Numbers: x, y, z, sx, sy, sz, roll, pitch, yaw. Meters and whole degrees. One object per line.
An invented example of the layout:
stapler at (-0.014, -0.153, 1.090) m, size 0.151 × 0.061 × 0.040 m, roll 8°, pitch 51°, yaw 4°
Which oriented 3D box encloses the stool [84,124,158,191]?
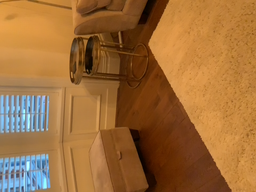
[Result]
stool at (-0.120, 0.700, 2.150) m, size 0.530 × 0.450 × 0.630 m, roll -60°, pitch 39°, yaw 43°

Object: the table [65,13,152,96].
table at (-0.240, -0.400, 2.210) m, size 0.560 × 0.660 × 0.550 m, roll -61°, pitch 38°, yaw 42°
